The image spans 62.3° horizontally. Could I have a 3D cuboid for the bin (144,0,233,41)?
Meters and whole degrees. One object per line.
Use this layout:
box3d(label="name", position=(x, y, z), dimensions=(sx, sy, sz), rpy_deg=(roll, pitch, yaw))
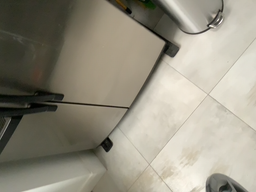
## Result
box3d(label="bin", position=(0.230, -0.580, 1.030), dimensions=(0.320, 0.730, 0.290), rpy_deg=(42, 108, 31))
